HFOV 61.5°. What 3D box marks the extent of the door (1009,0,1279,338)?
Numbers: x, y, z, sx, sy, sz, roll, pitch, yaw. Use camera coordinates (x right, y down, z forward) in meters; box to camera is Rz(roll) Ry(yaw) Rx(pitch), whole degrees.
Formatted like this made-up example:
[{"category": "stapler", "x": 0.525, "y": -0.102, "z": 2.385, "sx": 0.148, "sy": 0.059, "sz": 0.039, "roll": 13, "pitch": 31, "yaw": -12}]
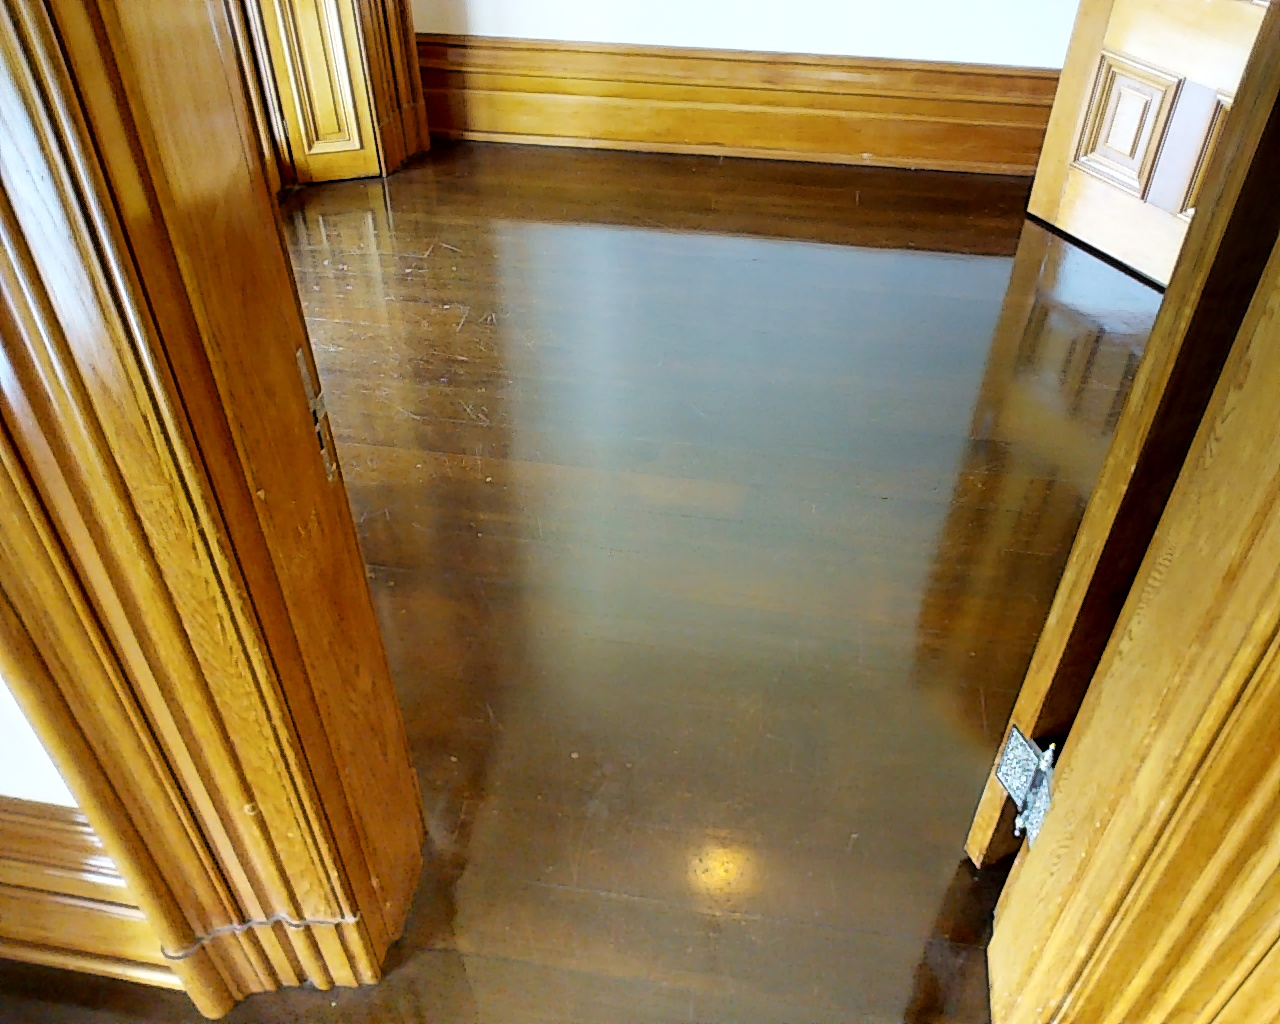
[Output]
[{"category": "door", "x": 1.480, "y": -1.610, "z": 2.420, "sx": 0.060, "sy": 2.270, "sz": 1.010, "roll": -20, "pitch": 46, "yaw": -22}]
